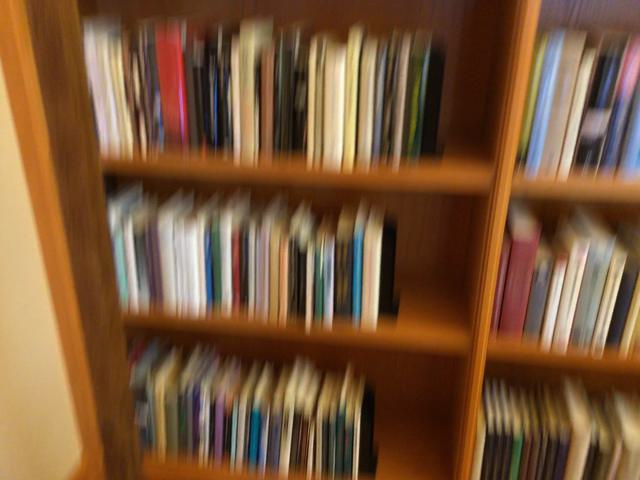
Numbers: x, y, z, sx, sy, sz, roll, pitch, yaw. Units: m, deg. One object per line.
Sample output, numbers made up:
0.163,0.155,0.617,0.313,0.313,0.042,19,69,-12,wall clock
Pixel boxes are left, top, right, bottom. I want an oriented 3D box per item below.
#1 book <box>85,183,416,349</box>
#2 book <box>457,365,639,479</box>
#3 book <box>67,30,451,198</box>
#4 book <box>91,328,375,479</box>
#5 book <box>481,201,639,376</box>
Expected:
-0.150,0.050,1.400,0.740,0.310,0.190,3,23,9,book
0.770,0.520,1.440,0.810,0.280,0.200,3,23,9,book
-0.120,-0.280,1.250,0.760,0.310,0.180,3,23,9,book
-0.220,0.440,1.590,0.720,0.270,0.210,3,23,9,book
0.780,0.110,1.270,0.780,0.310,0.220,3,23,9,book
